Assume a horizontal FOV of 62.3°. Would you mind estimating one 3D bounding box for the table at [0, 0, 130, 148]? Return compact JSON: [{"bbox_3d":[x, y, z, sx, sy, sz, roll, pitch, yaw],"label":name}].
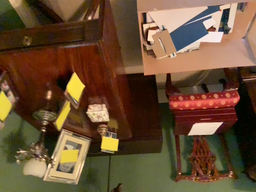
[{"bbox_3d":[-0.340,-0.210,1.320,0.610,0.750,1.000,-4,150,4],"label":"table"}]
